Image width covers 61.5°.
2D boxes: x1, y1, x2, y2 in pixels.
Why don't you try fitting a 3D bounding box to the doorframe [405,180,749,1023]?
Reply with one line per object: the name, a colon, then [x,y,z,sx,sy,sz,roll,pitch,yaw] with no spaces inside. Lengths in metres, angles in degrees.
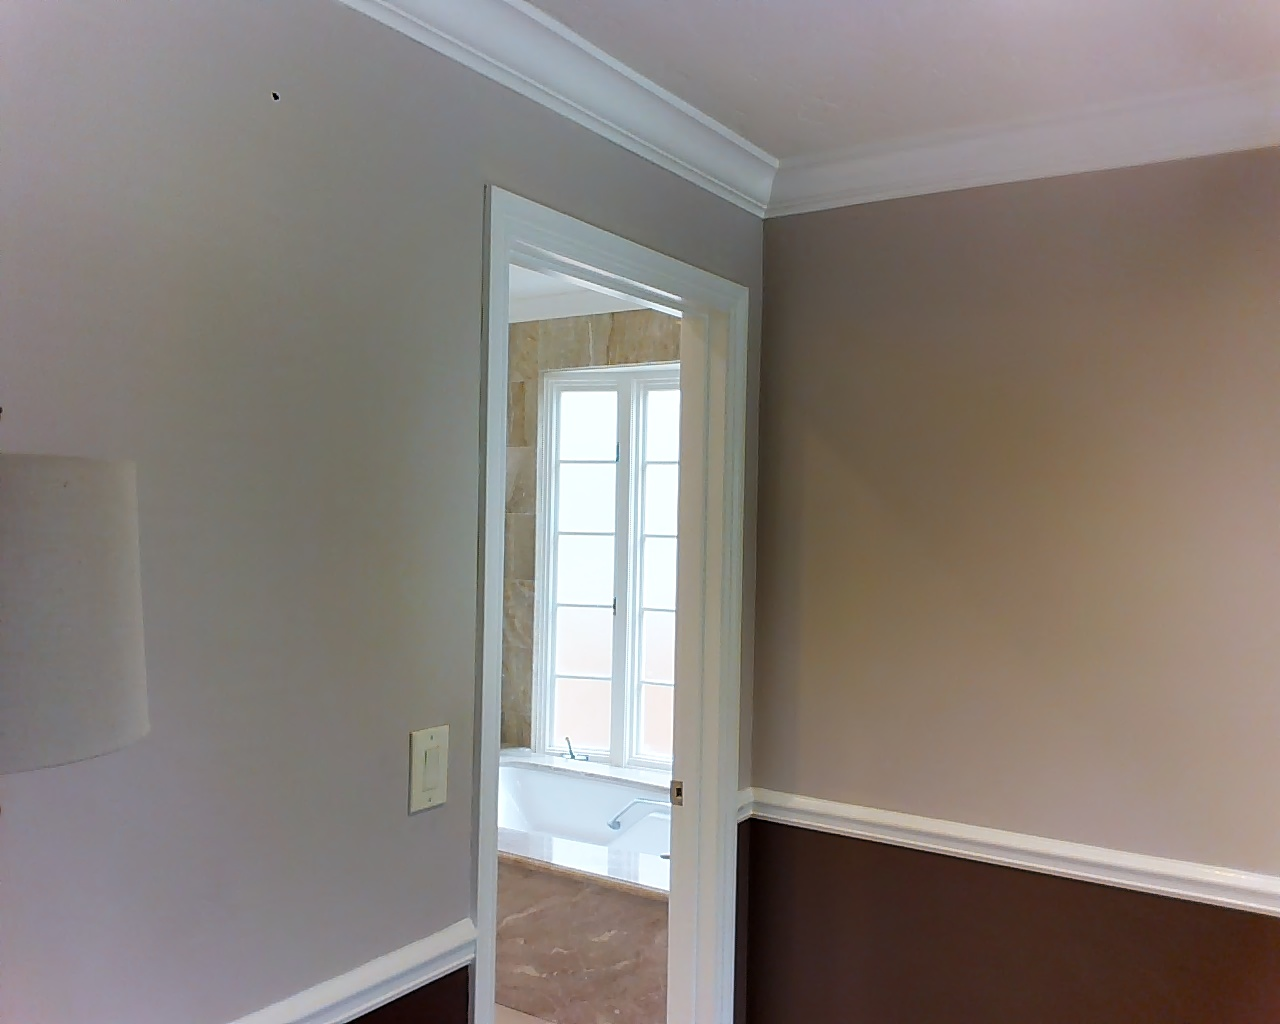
doorframe: [-0.080,0.520,2.170,0.150,2.110,0.910,1,0,33]
